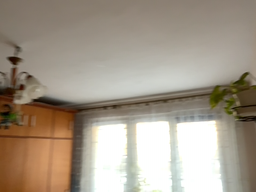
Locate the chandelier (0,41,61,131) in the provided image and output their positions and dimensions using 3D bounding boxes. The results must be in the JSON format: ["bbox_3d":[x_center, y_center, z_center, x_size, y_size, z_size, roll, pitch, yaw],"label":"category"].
[{"bbox_3d":[-0.990,-0.080,1.720,0.580,0.460,0.610,-20,-79,-61],"label":"chandelier"}]
